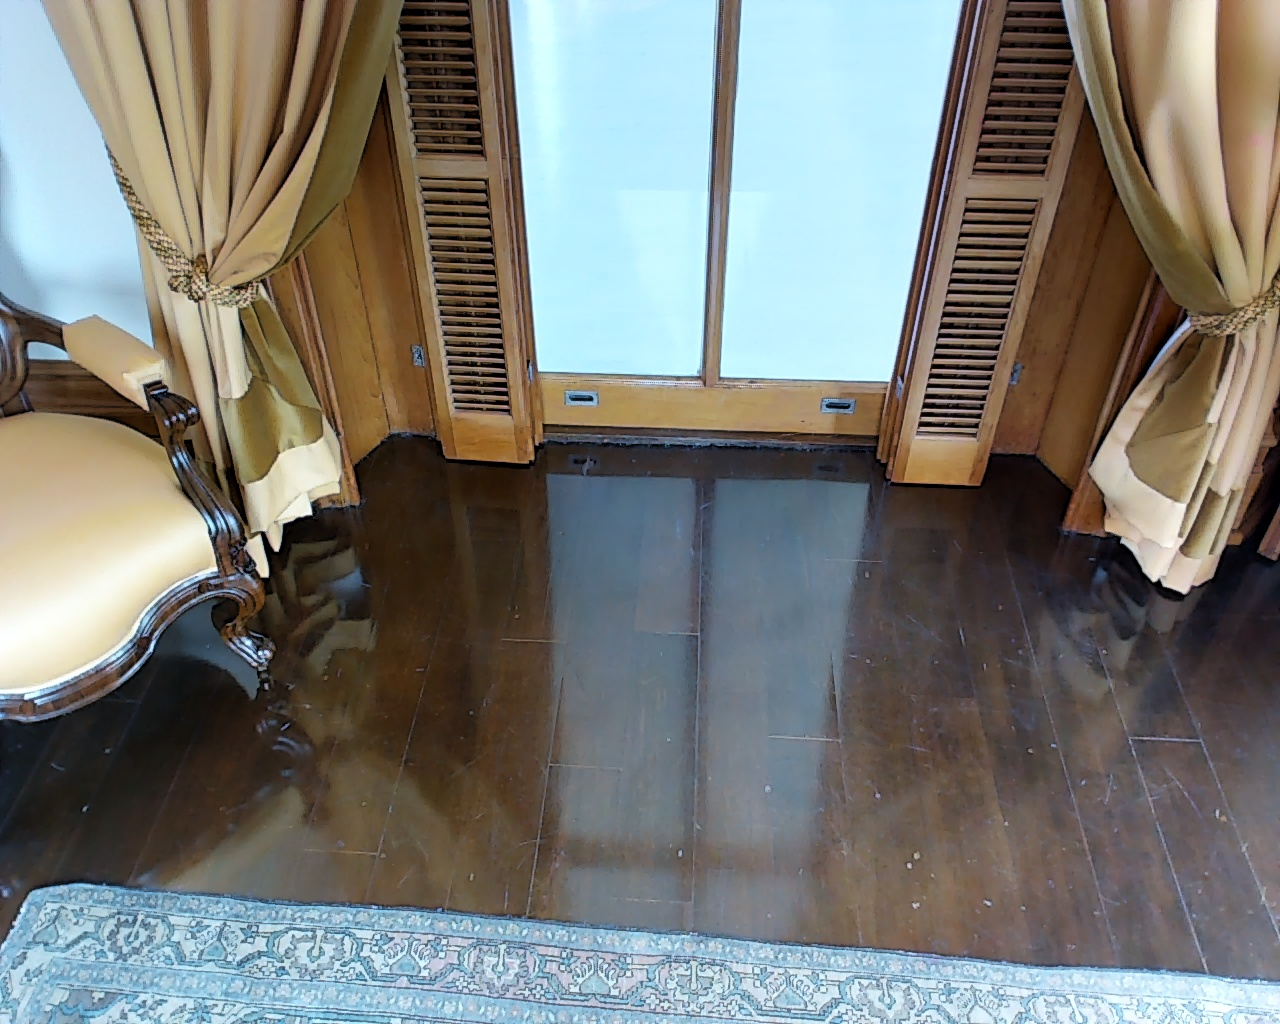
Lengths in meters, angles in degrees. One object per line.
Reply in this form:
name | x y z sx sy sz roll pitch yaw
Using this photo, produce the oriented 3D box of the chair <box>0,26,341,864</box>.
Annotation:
chair | -1.110 -0.130 1.750 0.810 0.990 0.720 33 51 31
